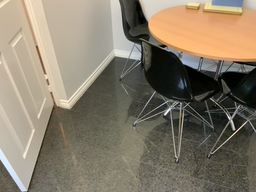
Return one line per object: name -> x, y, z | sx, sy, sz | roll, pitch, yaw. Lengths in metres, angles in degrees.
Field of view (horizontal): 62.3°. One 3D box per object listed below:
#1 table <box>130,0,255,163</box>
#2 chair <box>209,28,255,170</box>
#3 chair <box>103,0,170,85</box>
table -> 0.650, -0.210, 1.720 | 0.990, 0.750, 0.980 | 13, 41, 16
chair -> 0.840, 0.050, 1.360 | 0.430, 0.790, 0.430 | 11, 40, 14
chair -> 0.100, -0.600, 2.200 | 0.480, 0.760, 0.460 | 15, 42, 19
